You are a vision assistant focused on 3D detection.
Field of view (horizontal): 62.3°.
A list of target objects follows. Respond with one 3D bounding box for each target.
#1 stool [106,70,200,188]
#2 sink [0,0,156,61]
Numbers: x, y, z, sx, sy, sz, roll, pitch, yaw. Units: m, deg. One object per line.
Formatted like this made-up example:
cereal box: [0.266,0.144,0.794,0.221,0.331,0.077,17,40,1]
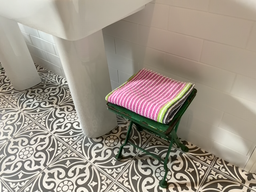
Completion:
stool: [0.110,0.150,0.980,0.280,0.400,0.260,24,49,27]
sink: [-0.250,-0.380,0.790,0.560,0.160,0.440,25,49,29]
